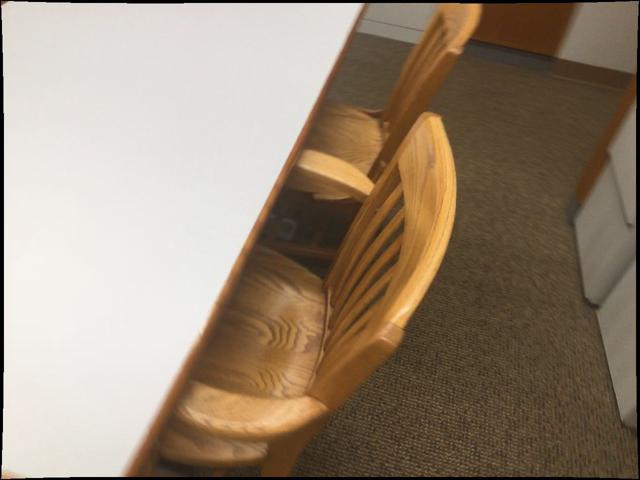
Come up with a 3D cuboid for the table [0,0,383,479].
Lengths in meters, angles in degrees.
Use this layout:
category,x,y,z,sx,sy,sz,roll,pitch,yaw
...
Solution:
category,x,y,z,sx,sy,sz,roll,pitch,yaw
table,-0.429,-0.090,1.400,0.788,0.821,1.451,16,46,6
